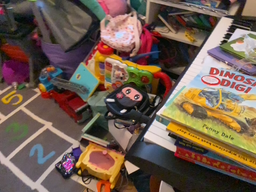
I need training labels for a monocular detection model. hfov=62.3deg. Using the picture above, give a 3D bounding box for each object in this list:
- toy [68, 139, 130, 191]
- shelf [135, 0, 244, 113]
[{"bbox_3d":[-0.160,0.400,1.210,0.280,0.080,0.200,21,47,20],"label":"toy"},{"bbox_3d":[0.400,-0.350,1.570,0.560,0.750,0.360,22,47,20],"label":"shelf"}]
